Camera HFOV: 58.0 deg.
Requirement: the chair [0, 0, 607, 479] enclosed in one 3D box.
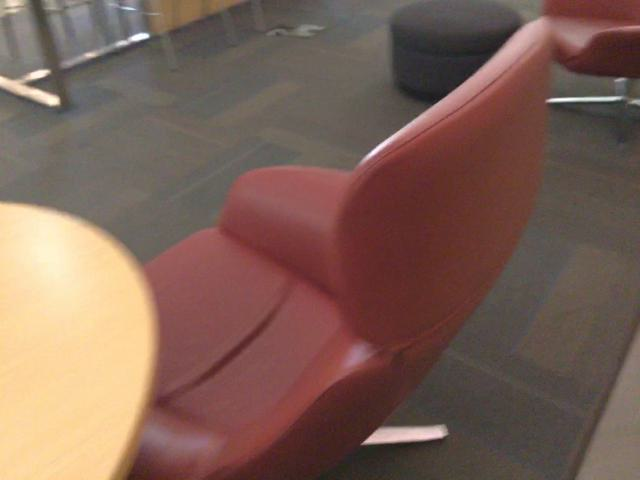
[{"bbox_3d":[-0.090,0.100,1.110,0.830,1.050,0.880,18,45,23],"label":"chair"}]
